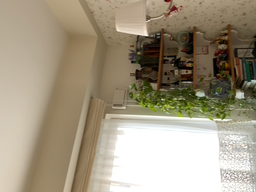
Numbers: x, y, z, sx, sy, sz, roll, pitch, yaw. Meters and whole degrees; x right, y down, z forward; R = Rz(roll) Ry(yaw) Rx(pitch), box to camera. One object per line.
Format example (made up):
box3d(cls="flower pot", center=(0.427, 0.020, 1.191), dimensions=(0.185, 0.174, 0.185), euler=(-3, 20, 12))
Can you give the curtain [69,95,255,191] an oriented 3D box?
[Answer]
box3d(cls="curtain", center=(0.510, 0.950, 1.740), dimensions=(0.310, 2.050, 1.890), euler=(59, -145, -64))
